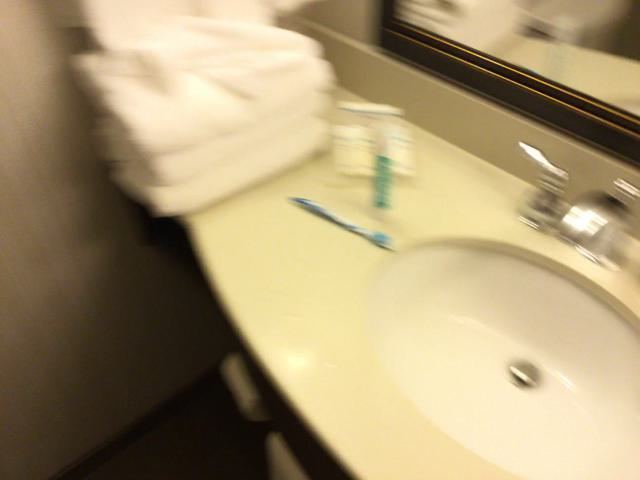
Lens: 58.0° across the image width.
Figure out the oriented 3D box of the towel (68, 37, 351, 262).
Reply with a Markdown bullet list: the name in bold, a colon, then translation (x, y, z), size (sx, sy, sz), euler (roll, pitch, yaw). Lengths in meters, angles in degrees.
- **towel**: translation (-0.180, -0.180, 1.010), size (0.360, 0.160, 0.290), euler (-33, 54, -32)

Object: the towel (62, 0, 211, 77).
- **towel**: translation (-0.270, -0.370, 0.840), size (0.180, 0.190, 0.100), euler (-33, 54, -32)

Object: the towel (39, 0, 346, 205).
- **towel**: translation (-0.190, -0.270, 0.930), size (0.350, 0.180, 0.290), euler (-33, 54, -32)
